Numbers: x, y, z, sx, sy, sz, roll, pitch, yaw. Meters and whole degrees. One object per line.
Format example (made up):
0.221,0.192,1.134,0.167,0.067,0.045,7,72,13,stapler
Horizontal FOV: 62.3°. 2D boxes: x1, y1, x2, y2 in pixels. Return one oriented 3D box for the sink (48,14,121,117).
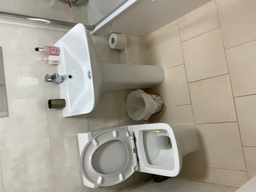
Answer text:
-0.310,-0.170,1.440,0.420,0.250,0.570,-13,84,50,sink
